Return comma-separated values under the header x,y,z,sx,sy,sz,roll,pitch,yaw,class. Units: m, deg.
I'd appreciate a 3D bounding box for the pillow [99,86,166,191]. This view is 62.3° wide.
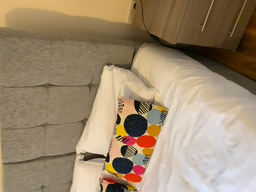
x,y,z,sx,sy,sz,roll,pitch,yaw,class
0.020,0.290,1.230,0.170,0.290,0.620,20,114,18,pillow
